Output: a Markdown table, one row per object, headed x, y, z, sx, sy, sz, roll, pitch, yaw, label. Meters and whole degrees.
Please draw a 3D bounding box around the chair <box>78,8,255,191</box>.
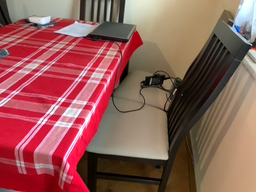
| x | y | z | sx | sy | sz | roll | pitch | yaw | label |
| --- | --- | --- | --- | --- | --- | --- | --- | --- | --- |
| 0.120 | 0.150 | 1.080 | 0.570 | 0.990 | 0.440 | 12 | 32 | 9 | chair |
